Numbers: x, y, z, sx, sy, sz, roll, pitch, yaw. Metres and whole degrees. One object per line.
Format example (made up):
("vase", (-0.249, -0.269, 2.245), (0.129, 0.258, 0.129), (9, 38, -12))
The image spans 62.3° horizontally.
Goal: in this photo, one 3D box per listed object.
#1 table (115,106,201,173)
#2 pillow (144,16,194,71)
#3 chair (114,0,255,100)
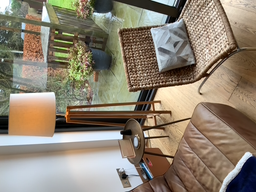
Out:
("table", (0.270, 0.400, 2.060), (0.420, 0.600, 0.420), (56, 135, 48))
("pillow", (0.340, -0.430, 1.730), (0.100, 0.260, 0.430), (-33, 82, 38))
("chair", (0.420, -0.440, 1.690), (0.740, 0.750, 0.680), (-44, 50, 52))
